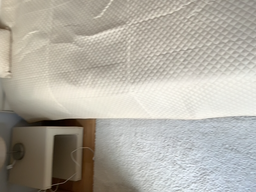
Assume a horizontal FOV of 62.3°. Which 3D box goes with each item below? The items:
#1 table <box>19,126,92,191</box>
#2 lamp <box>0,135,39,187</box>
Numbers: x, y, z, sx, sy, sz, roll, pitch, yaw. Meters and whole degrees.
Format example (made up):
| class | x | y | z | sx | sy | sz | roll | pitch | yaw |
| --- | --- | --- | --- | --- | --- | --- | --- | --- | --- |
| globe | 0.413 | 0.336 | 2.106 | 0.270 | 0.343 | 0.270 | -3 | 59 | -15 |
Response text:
| class | x | y | z | sx | sy | sz | roll | pitch | yaw |
| --- | --- | --- | --- | --- | --- | --- | --- | --- | --- |
| table | -0.570 | 0.480 | 1.690 | 0.440 | 0.320 | 0.470 | -4 | 80 | 31 |
| lamp | -0.860 | 0.430 | 1.440 | 0.200 | 0.410 | 0.300 | -3 | 81 | 31 |
